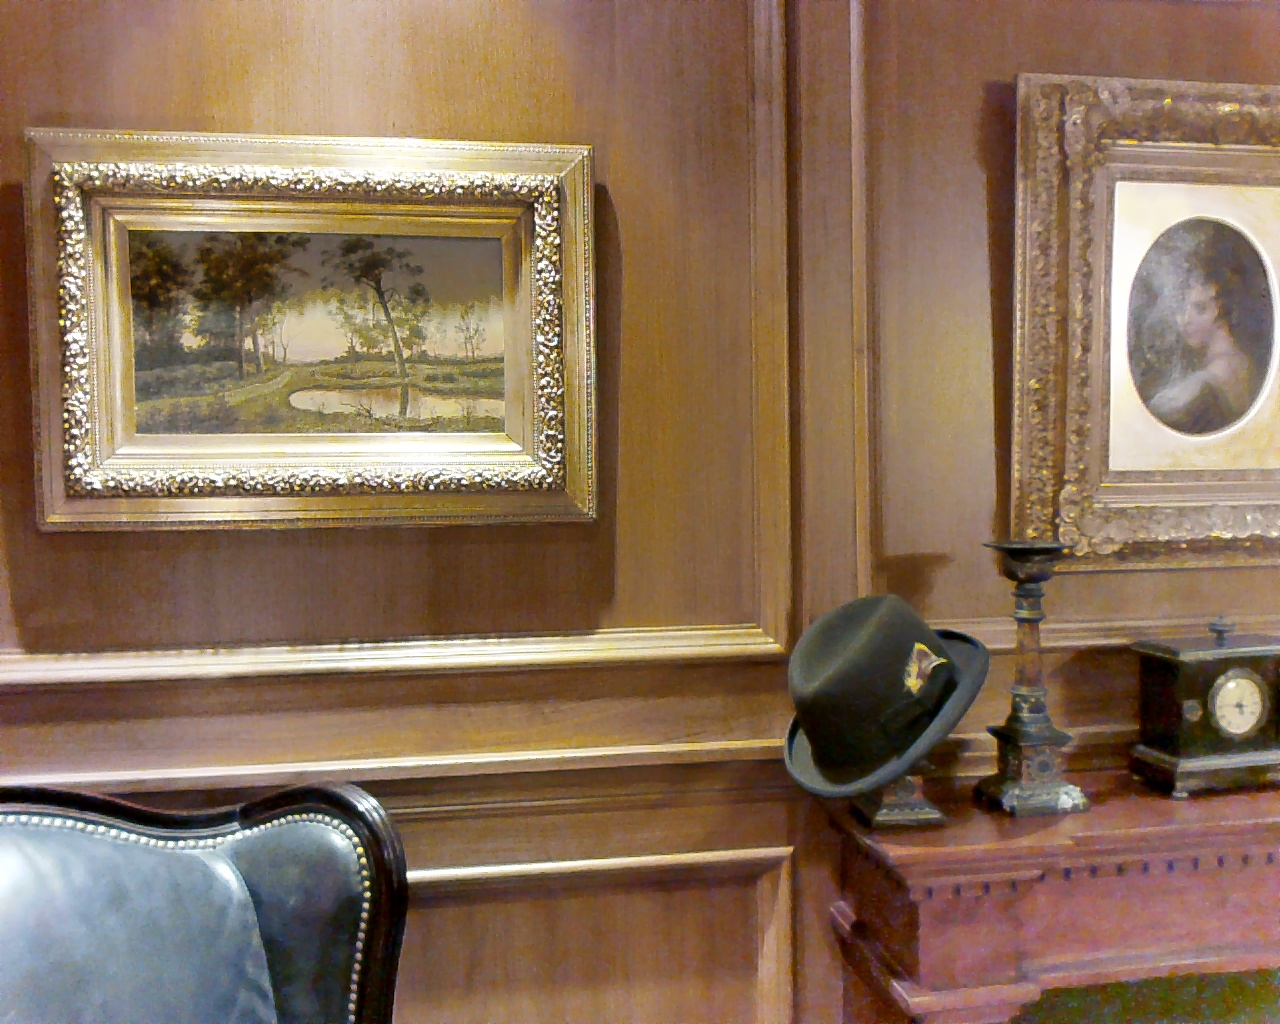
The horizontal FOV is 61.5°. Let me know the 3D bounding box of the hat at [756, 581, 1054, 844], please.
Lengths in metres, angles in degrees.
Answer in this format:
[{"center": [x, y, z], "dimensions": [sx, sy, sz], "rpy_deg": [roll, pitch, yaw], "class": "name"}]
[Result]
[{"center": [0.300, 0.220, 1.270], "dimensions": [0.270, 0.250, 0.240], "rpy_deg": [-1, 2, -8], "class": "hat"}]
